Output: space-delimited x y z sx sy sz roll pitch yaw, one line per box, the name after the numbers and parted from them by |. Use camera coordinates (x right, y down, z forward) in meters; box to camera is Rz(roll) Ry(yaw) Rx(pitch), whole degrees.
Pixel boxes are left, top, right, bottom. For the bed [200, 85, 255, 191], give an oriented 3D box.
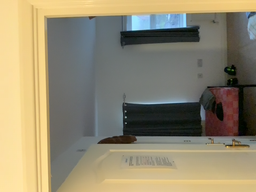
1.540 0.830 3.360 1.050 0.460 1.980 -44 -47 -88 | bed
